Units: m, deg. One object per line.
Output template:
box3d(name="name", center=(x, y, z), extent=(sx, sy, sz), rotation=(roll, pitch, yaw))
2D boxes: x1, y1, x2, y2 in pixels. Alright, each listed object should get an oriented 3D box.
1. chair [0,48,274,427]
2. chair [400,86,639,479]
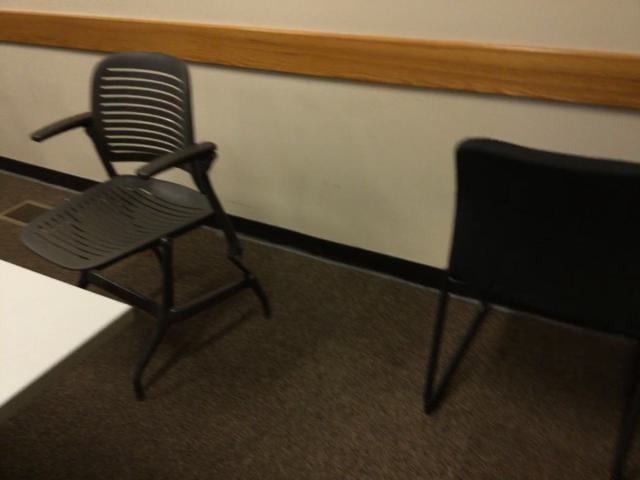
box3d(name="chair", center=(-0.560, -0.060, 1.760), extent=(0.600, 0.900, 0.550), rotation=(17, 31, 31))
box3d(name="chair", center=(0.590, 0.080, 1.480), extent=(0.510, 0.780, 0.640), rotation=(14, 29, 26))
